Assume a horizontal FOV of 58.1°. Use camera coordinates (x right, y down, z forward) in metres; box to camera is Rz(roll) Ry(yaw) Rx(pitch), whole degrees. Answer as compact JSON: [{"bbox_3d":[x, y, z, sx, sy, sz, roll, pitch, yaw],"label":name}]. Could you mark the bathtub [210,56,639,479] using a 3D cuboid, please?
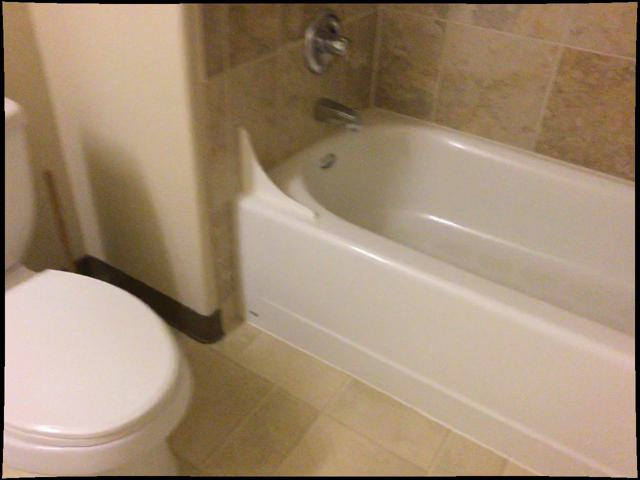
[{"bbox_3d":[0.569,0.090,1.550,1.508,0.631,0.780,22,42,24],"label":"bathtub"}]
